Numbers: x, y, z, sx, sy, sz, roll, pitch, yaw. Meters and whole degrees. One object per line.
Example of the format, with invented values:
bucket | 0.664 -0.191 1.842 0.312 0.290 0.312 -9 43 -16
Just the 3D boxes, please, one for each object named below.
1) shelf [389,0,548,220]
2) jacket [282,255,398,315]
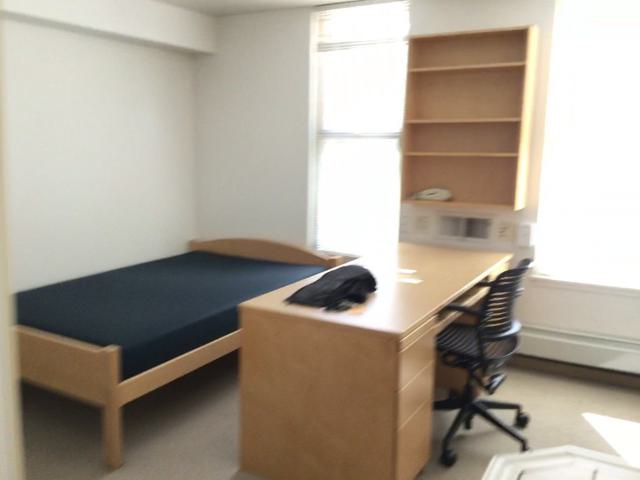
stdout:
shelf | 0.900 -0.770 3.590 0.830 1.200 0.360 6 12 33
jacket | 0.100 0.190 2.610 0.320 0.130 0.480 6 12 33
